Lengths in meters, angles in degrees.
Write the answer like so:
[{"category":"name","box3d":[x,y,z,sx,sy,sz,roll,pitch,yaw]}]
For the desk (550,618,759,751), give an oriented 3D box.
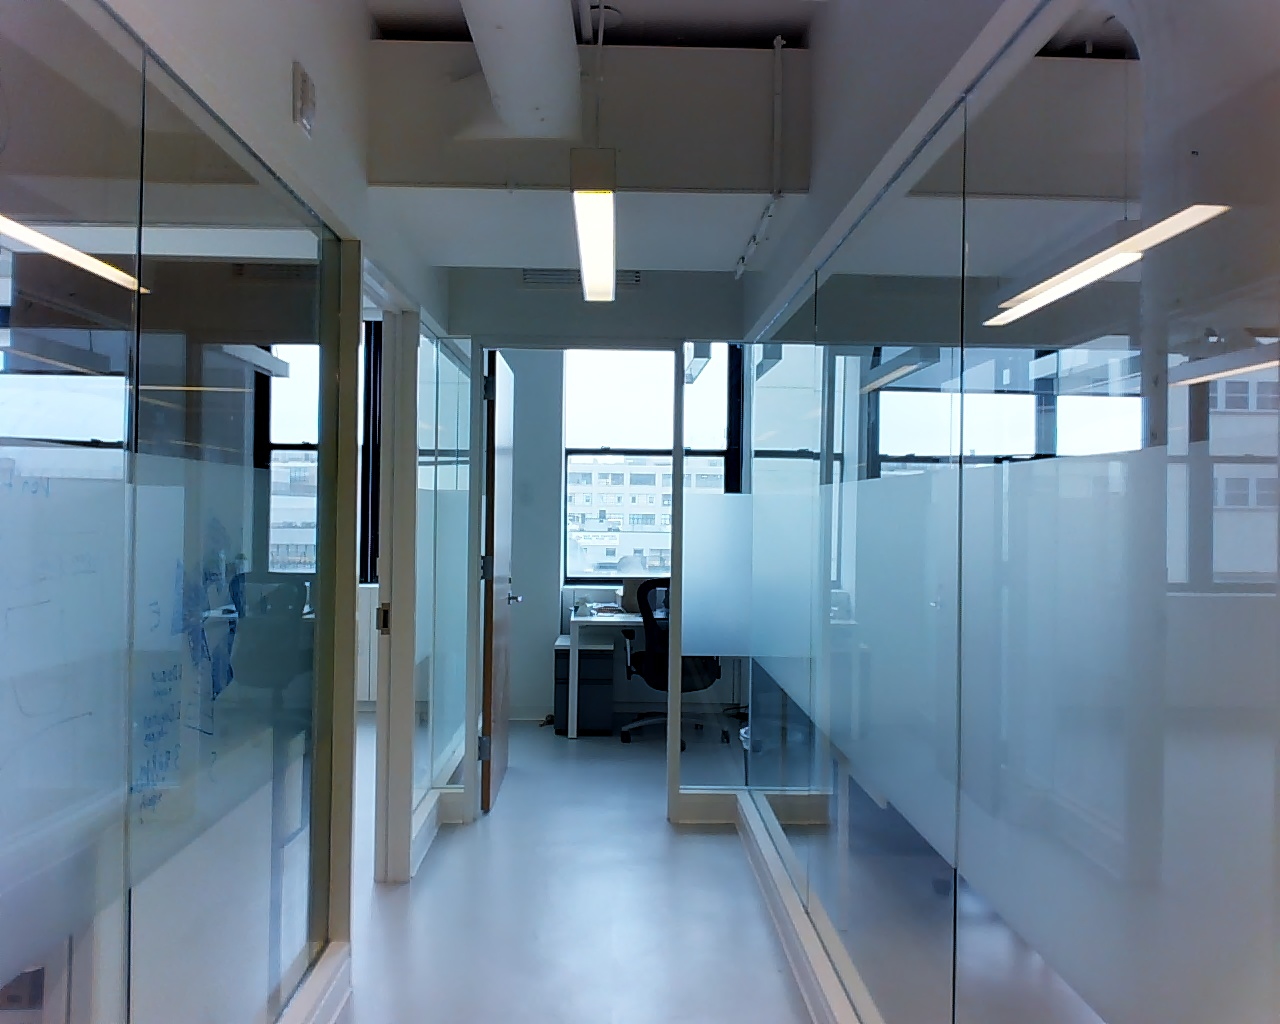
[{"category":"desk","box3d":[0.080,1.110,7.060,1.290,0.740,0.840,1,0,-2]}]
